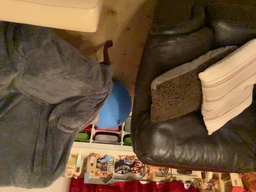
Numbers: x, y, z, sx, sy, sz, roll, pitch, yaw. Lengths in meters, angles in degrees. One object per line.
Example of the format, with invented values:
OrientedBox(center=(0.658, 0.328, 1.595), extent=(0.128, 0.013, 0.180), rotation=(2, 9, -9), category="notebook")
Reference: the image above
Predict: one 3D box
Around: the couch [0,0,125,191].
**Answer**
OrientedBox(center=(-0.660, 0.050, 1.480), extent=(0.990, 1.030, 0.770), rotation=(-26, 138, 35), category="couch")

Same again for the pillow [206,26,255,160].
OrientedBox(center=(0.600, -0.050, 1.220), extent=(0.150, 0.430, 0.660), rotation=(8, 110, 34), category="pillow")

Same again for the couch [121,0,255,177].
OrientedBox(center=(0.890, -0.030, 1.430), extent=(1.730, 0.870, 1.010), rotation=(6, 147, -6), category="couch")

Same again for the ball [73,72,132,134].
OrientedBox(center=(-0.200, 0.080, 2.010), extent=(0.450, 0.400, 0.450), rotation=(-1, 147, 4), category="ball")
